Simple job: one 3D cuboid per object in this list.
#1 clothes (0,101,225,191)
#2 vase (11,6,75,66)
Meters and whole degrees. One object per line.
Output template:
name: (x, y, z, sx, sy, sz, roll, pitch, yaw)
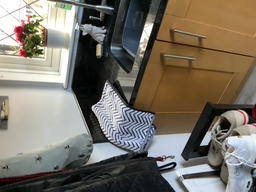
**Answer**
clothes: (-0.220, 0.250, 0.610, 0.300, 0.910, 0.360, 55, 135, 47)
vase: (-0.570, -0.390, 1.390, 0.300, 0.340, 0.250, 53, 134, 48)
